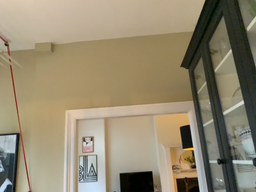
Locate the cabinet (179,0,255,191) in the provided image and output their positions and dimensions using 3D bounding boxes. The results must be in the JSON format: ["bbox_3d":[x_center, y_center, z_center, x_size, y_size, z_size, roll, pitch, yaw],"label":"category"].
[{"bbox_3d":[0.820,0.550,1.090,0.470,2.500,1.700,-5,-16,2],"label":"cabinet"}]
